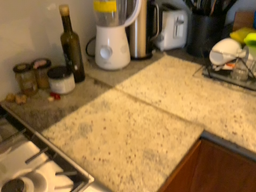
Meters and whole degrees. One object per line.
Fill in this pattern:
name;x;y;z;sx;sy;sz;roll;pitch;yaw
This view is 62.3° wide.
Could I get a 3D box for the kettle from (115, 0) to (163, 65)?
kettle;0.040;-0.320;0.990;0.160;0.260;0.230;-7;36;-9
